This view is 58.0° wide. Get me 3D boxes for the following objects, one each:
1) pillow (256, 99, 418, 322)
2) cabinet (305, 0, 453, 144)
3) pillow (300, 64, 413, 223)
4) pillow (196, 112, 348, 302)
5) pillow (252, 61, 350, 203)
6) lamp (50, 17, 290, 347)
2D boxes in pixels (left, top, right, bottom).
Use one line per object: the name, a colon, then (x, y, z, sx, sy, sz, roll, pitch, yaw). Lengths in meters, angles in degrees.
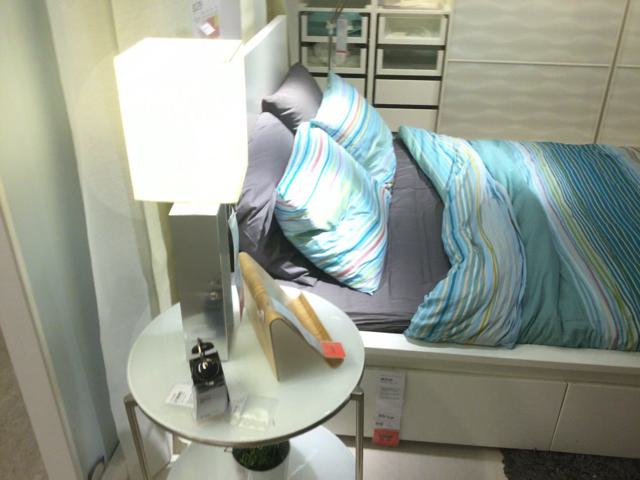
pillow: (0.100, -0.130, 1.940, 0.220, 0.470, 0.650, -29, 20, 24)
cabinet: (0.370, -1.830, 3.530, 0.860, 2.360, 0.670, 1, 29, 10)
pillow: (0.190, -0.440, 2.480, 0.190, 0.430, 0.710, -29, 19, 24)
pillow: (-0.110, -0.150, 1.920, 0.300, 0.340, 0.730, 1, 29, 11)
pillow: (-0.050, -0.490, 2.490, 0.250, 0.400, 0.700, 1, 29, 11)
lamp: (-0.230, -0.110, 1.070, 0.240, 0.520, 0.300, 1, 29, 11)
